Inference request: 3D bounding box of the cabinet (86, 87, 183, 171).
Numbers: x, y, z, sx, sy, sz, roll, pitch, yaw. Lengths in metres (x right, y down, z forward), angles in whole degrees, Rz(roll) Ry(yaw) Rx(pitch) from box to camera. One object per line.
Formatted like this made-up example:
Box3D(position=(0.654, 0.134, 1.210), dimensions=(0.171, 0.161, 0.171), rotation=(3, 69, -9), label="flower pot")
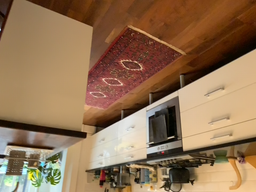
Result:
Box3D(position=(-0.040, 0.710, 3.630), dimensions=(0.590, 0.940, 2.030), rotation=(14, 153, -27), label="cabinet")
